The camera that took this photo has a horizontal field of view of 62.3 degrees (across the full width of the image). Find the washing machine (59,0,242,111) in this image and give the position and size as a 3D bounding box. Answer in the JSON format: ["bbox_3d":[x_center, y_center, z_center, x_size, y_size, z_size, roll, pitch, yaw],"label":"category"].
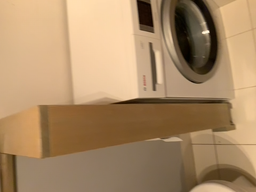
[{"bbox_3d":[0.160,-0.250,1.170,0.490,0.870,0.590,-13,80,46],"label":"washing machine"}]
